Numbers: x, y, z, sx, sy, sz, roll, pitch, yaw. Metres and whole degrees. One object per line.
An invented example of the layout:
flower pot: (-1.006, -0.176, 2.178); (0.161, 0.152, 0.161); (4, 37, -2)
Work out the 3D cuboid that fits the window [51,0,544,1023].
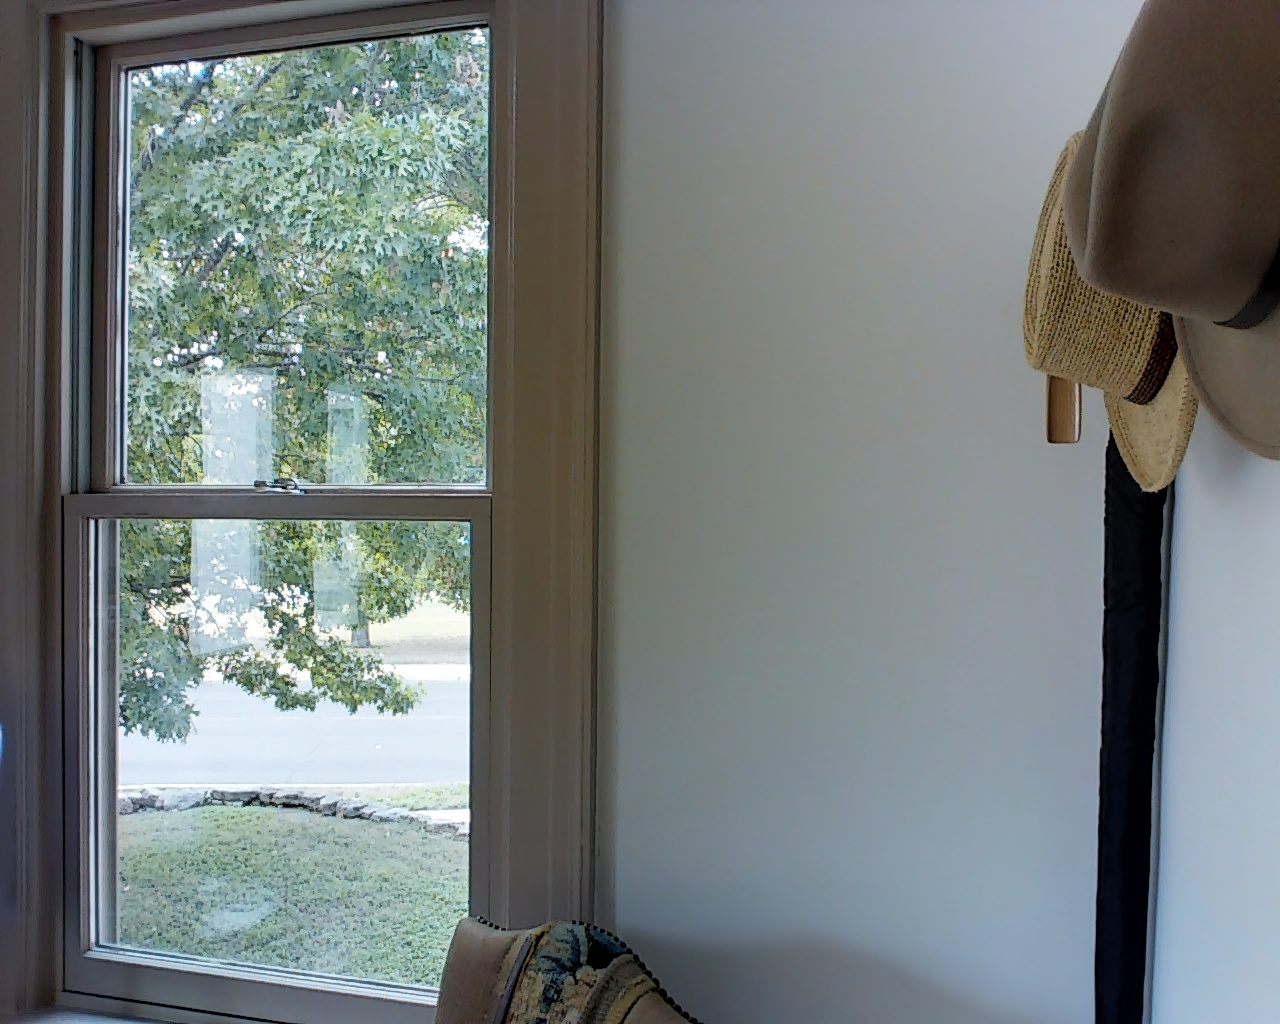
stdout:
window: (-0.520, 0.000, 1.610); (0.730, 1.480, 0.140); (1, 0, 14)
